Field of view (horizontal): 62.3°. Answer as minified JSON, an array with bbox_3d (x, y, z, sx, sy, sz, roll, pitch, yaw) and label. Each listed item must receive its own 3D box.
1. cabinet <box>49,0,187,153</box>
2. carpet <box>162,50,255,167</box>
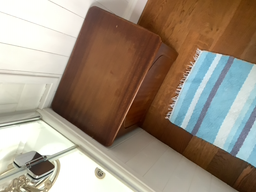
[{"bbox_3d":[-0.020,-0.090,1.070,0.360,0.450,0.510,32,104,17],"label":"cabinet"},{"bbox_3d":[0.610,0.110,1.050,0.790,0.001,0.420,27,102,19],"label":"carpet"}]
